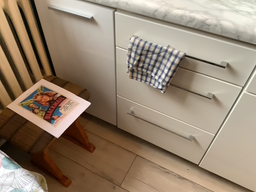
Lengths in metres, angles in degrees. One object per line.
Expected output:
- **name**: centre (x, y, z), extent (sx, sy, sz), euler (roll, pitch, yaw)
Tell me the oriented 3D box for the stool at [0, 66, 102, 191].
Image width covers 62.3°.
- **stool**: centre (-0.380, 0.180, 1.090), extent (0.300, 0.450, 0.400), euler (23, 50, 18)
